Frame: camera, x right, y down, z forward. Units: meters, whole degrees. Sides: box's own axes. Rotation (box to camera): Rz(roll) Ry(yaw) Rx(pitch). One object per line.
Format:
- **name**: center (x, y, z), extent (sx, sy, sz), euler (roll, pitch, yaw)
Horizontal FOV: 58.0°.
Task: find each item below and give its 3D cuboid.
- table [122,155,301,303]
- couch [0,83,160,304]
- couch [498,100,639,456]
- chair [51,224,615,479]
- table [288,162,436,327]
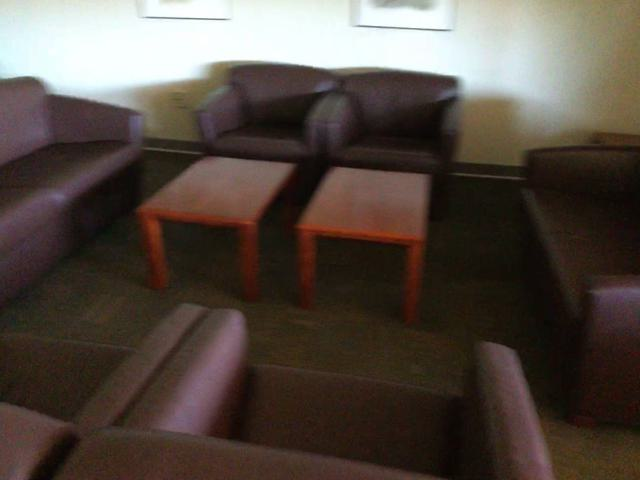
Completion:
- **table**: center (-0.450, -0.080, 2.670), extent (0.580, 0.410, 0.670), euler (2, 28, 9)
- **couch**: center (-1.480, -0.230, 2.460), extent (0.790, 0.690, 1.450), euler (6, 22, 19)
- **couch**: center (1.170, 0.020, 2.160), extent (0.740, 0.760, 1.370), euler (4, 26, 9)
- **chair**: center (0.080, 0.480, 1.190), extent (0.710, 0.710, 0.800), euler (5, 26, 10)
- **table**: center (0.220, -0.020, 2.600), extent (0.560, 0.440, 0.750), euler (2, 26, 9)
